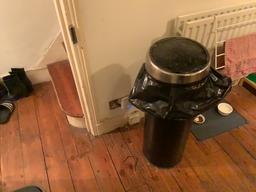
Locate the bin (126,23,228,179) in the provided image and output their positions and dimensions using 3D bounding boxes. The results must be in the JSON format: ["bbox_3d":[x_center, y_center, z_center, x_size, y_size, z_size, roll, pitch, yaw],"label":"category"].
[{"bbox_3d":[0.200,0.080,1.250,0.280,0.850,0.380,-19,48,-18],"label":"bin"}]

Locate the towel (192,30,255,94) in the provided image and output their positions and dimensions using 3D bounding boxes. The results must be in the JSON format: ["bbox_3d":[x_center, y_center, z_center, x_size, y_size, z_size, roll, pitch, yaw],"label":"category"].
[{"bbox_3d":[0.680,-0.230,1.460,0.390,0.340,0.140,-15,47,-15],"label":"towel"}]
